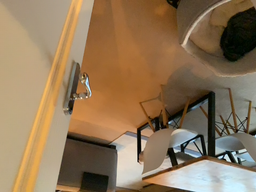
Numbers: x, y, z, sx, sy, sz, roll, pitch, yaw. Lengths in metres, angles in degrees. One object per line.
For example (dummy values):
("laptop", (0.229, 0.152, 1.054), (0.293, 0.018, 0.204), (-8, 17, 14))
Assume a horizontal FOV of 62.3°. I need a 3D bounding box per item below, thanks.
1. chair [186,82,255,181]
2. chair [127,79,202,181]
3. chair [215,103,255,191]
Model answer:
("chair", (0.990, 0.370, 2.140), (0.470, 0.780, 0.480), (23, 139, -29))
("chair", (0.320, 0.340, 2.090), (0.520, 0.800, 0.400), (21, 140, -26))
("chair", (1.420, 0.590, 2.410), (0.410, 0.800, 0.500), (23, 139, -29))
